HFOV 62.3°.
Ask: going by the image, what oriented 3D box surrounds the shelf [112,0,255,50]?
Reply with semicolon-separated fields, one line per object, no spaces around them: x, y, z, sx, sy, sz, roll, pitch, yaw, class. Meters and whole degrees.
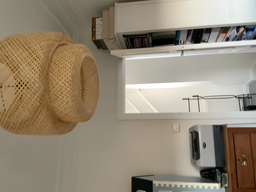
0.860;-0.850;2.290;0.530;1.990;0.420;44;-135;-78;shelf
